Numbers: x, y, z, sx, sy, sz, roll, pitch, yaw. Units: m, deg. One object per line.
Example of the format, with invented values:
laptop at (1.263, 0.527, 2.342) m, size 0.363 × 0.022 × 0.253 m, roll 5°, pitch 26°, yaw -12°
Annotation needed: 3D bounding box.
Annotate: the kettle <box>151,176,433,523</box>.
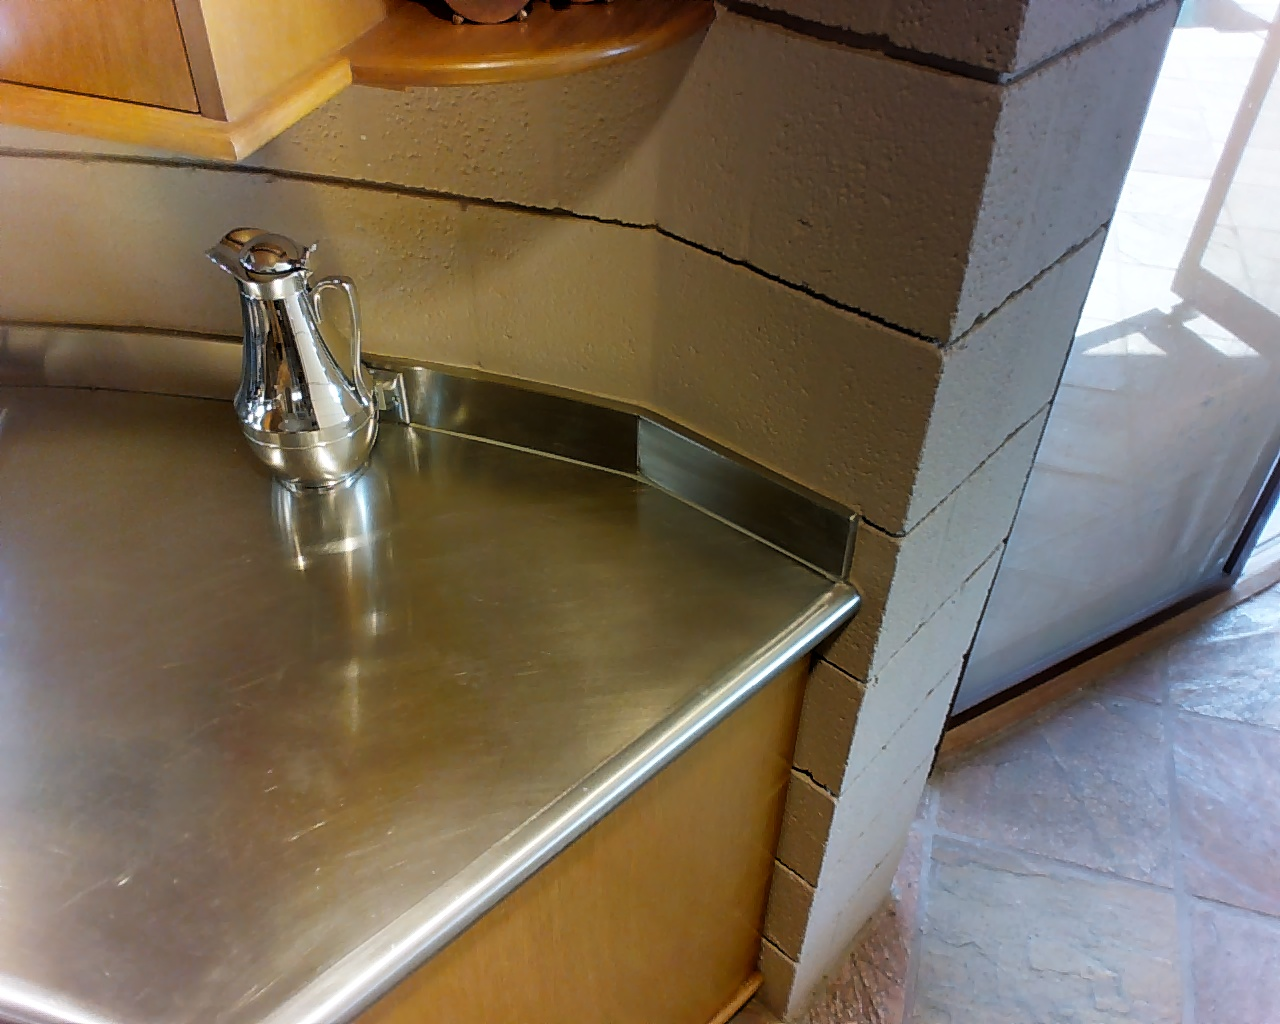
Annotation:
kettle at (-0.330, -0.160, 1.070) m, size 0.160 × 0.280 × 0.160 m, roll 11°, pitch 42°, yaw 11°
